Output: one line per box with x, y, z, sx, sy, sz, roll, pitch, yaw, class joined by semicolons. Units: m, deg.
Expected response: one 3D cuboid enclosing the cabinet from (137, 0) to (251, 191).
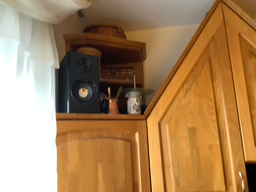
0.310;0.040;1.200;0.450;1.050;0.360;-4;-11;5;cabinet
